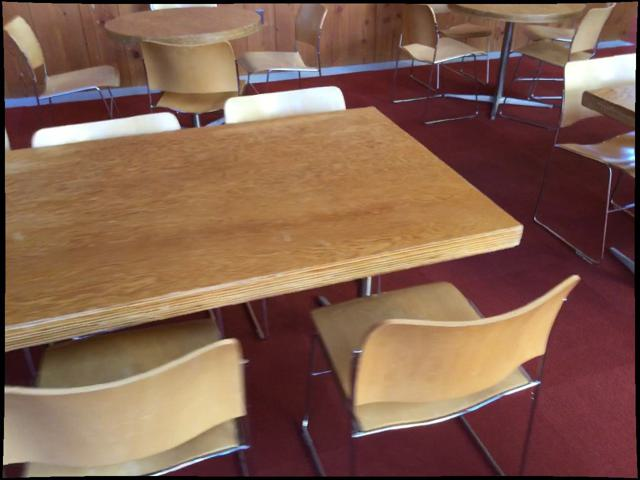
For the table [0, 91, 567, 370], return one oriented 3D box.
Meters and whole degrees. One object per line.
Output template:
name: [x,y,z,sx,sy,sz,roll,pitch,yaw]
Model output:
table: [-0.440,-0.110,1.550,1.818,0.090,1.010,-9,35,-15]
